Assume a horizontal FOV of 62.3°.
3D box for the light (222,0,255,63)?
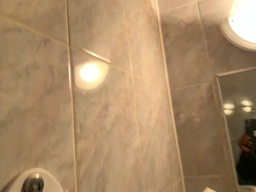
[{"bbox_3d":[0.500,-0.270,0.740,0.280,0.230,0.090,-11,-11,27],"label":"light"}]
